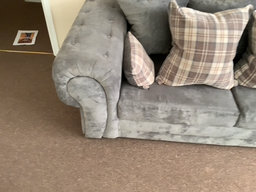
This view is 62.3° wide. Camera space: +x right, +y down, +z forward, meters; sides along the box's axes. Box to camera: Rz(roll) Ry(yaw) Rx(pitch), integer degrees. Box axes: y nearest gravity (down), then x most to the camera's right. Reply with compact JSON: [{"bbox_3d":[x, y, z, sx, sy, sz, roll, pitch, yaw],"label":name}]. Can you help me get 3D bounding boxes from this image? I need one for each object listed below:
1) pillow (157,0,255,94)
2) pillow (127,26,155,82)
[{"bbox_3d":[0.400,-0.280,1.180,0.410,0.450,0.280,2,23,1],"label":"pillow"},{"bbox_3d":[0.060,-0.250,1.220,0.110,0.270,0.350,0,16,-4],"label":"pillow"}]
